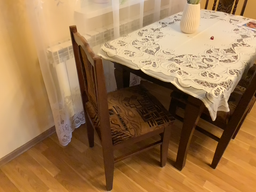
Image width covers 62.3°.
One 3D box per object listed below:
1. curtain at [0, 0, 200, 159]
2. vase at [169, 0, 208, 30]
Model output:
[{"bbox_3d":[0.090,-1.190,1.370,0.310,2.850,1.950,26,43,28],"label":"curtain"},{"bbox_3d":[0.440,-0.710,1.450,0.160,0.430,0.220,28,44,30],"label":"vase"}]
